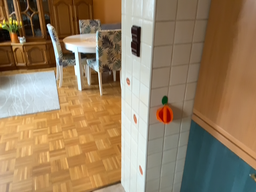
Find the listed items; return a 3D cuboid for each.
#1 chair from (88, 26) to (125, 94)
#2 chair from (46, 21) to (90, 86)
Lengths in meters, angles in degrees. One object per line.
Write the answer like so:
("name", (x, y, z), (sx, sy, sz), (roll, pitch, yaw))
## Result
("chair", (-0.360, -0.600, 3.440), (0.420, 0.940, 0.590), (-8, 27, -19))
("chair", (-1.010, -0.730, 3.610), (0.580, 0.990, 0.390), (-8, 27, -19))
